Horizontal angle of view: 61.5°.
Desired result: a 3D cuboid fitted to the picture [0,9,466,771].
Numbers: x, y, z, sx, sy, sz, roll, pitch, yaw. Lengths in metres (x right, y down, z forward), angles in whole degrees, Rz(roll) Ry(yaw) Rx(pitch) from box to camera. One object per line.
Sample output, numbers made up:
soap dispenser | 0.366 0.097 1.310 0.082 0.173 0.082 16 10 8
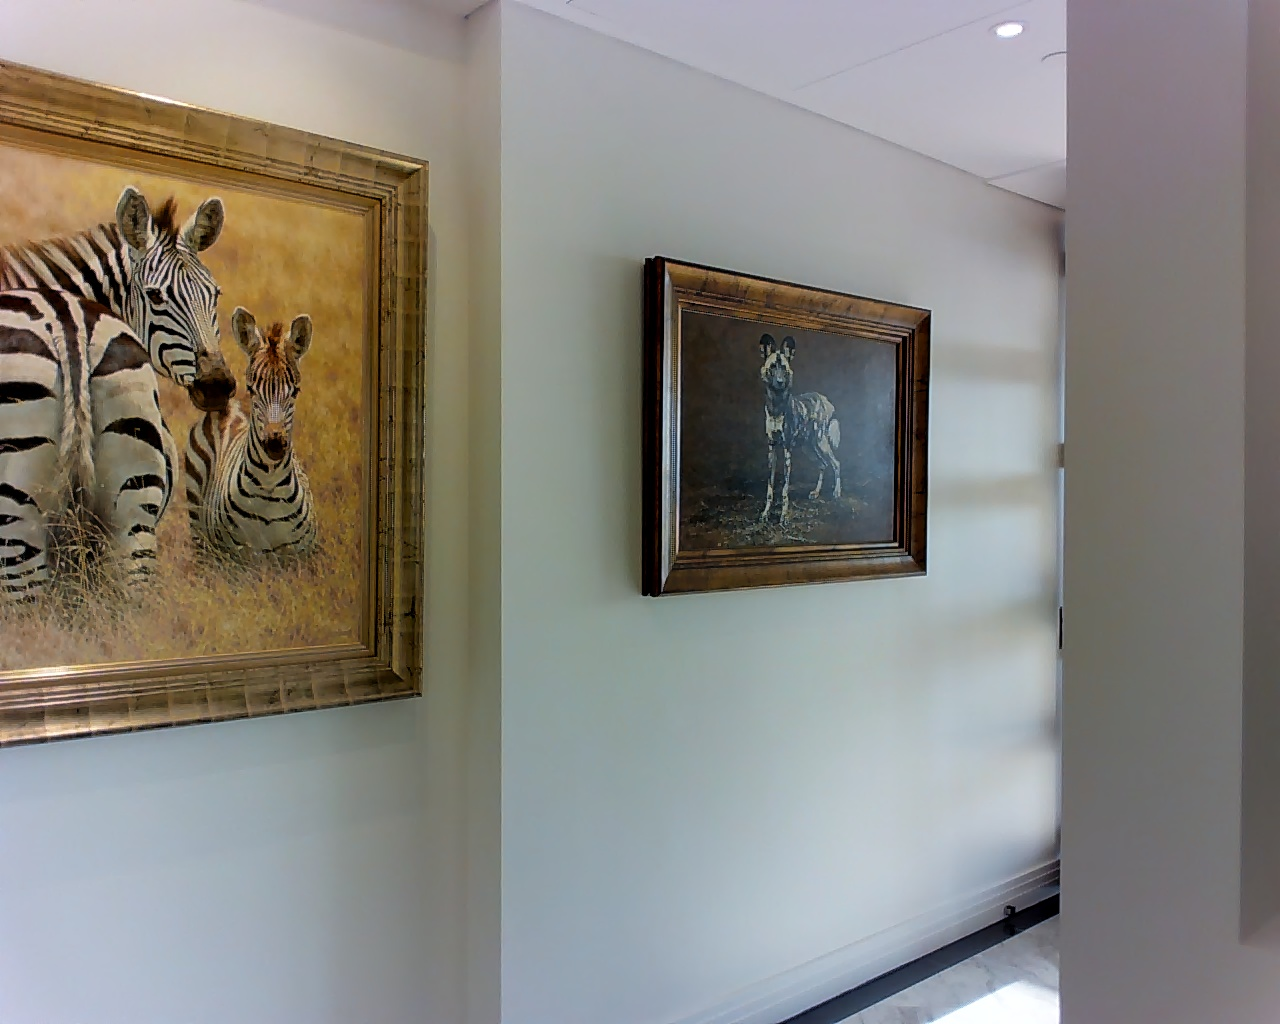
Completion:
picture | -0.870 -0.200 1.980 1.200 1.240 0.120 -1 1 -41

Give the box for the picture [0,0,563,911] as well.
picture | -0.870 -0.200 1.950 0.050 1.320 1.230 1 38 49
